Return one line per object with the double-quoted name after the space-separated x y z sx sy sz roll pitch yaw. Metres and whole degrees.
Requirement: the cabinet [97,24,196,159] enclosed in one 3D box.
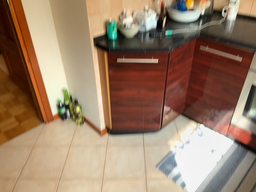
0.150 -0.050 1.750 0.600 0.870 0.400 -30 44 -34 "cabinet"
